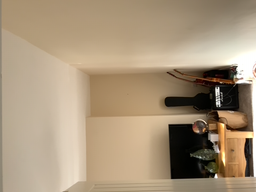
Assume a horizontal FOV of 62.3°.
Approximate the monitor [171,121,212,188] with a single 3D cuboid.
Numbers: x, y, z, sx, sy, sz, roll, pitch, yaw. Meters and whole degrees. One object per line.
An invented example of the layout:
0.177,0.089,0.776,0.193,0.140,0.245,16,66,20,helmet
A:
0.990,0.920,3.340,0.060,0.610,1.030,87,-178,-89,monitor
